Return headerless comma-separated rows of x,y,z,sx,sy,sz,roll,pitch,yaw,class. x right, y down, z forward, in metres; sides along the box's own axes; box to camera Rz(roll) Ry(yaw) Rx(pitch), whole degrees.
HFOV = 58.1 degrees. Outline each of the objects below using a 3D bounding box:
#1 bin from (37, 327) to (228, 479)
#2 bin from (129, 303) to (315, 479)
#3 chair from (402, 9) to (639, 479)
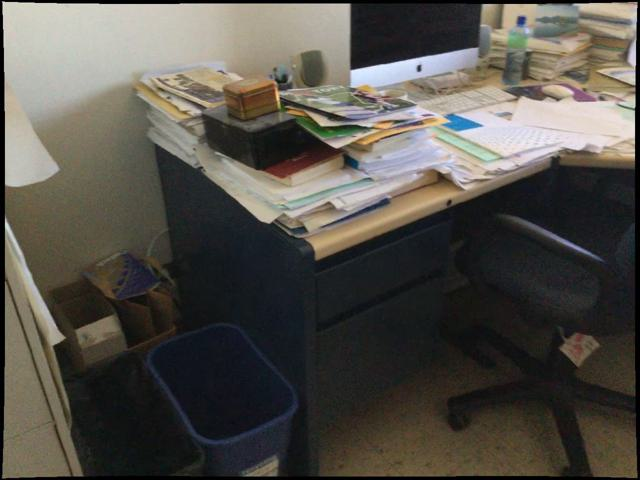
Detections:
-0.429,0.531,1.360,0.240,0.391,0.490,-21,37,-30,bin
-0.249,0.481,1.480,0.250,0.401,0.460,-21,37,-30,bin
0.688,0.050,1.480,0.619,1.062,0.630,-21,37,-30,chair
